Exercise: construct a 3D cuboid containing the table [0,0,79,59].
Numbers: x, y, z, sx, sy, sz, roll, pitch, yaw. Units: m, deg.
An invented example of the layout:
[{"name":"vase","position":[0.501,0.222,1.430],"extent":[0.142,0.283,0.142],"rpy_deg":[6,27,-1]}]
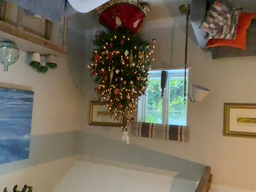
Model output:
[{"name":"table","position":[-1.410,-1.110,2.750],"extent":[0.440,0.860,1.790],"rpy_deg":[2,177,25]}]
